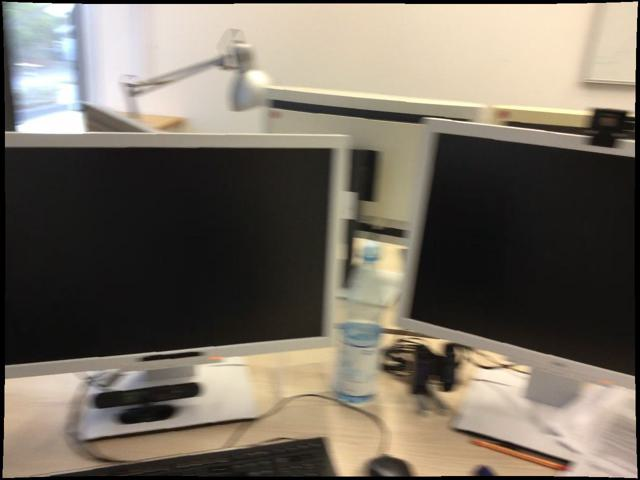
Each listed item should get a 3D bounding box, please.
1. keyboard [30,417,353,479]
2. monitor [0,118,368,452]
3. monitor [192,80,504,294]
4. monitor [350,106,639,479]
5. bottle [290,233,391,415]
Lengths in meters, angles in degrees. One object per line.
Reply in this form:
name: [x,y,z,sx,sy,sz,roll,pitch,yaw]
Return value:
keyboard: [-0.180,0.370,0.820,0.460,0.030,0.280,-1,21,-10]
monitor: [-0.280,0.060,0.990,0.659,0.500,0.200,-3,22,-13]
monitor: [0.060,-0.150,1.490,0.699,0.450,0.250,5,21,5]
monitor: [0.380,0.080,0.910,0.619,0.500,0.280,5,21,5]
bottle: [0.040,0.150,1.080,0.160,0.270,0.180,5,21,5]
